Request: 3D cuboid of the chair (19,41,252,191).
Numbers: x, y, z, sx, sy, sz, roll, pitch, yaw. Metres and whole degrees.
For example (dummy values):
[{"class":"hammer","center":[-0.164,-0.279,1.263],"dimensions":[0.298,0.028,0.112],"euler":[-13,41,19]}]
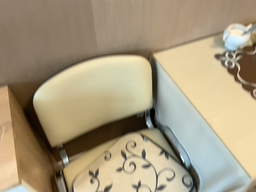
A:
[{"class":"chair","center":[-0.040,0.310,0.940],"dimensions":[0.490,0.810,0.570],"euler":[-18,54,-16]}]
